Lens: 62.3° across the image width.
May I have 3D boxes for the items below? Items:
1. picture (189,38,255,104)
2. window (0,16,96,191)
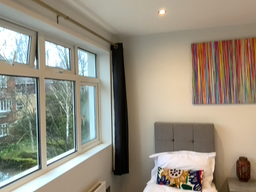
[{"bbox_3d":[1.400,-0.310,2.690,1.190,0.810,0.050,-1,1,17],"label":"picture"},{"bbox_3d":[-0.830,0.080,1.990,0.120,1.330,2.130,-1,1,17],"label":"window"}]
